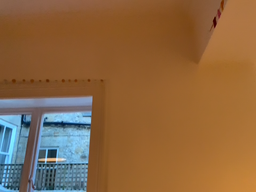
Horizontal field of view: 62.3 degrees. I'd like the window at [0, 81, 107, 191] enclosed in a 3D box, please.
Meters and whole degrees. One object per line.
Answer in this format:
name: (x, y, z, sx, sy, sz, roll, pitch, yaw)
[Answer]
window: (-1.330, 0.740, 1.910, 2.150, 1.570, 0.560, -2, -21, 4)
